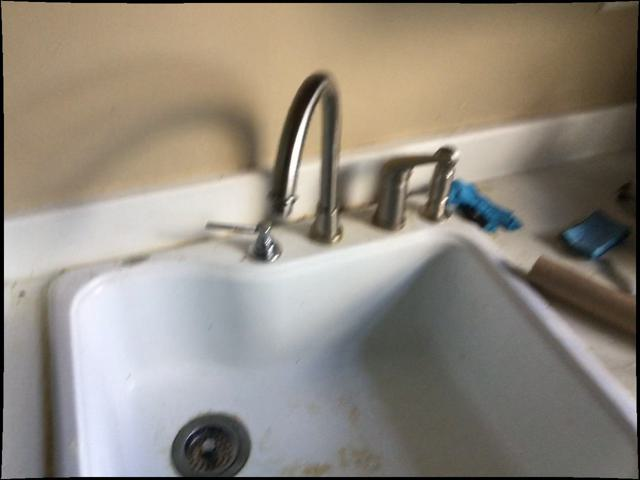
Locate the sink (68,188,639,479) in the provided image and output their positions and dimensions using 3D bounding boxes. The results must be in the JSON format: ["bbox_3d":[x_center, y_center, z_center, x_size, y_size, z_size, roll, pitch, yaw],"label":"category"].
[{"bbox_3d":[0.030,0.241,0.810,0.649,0.230,0.560,-13,43,-15],"label":"sink"}]
